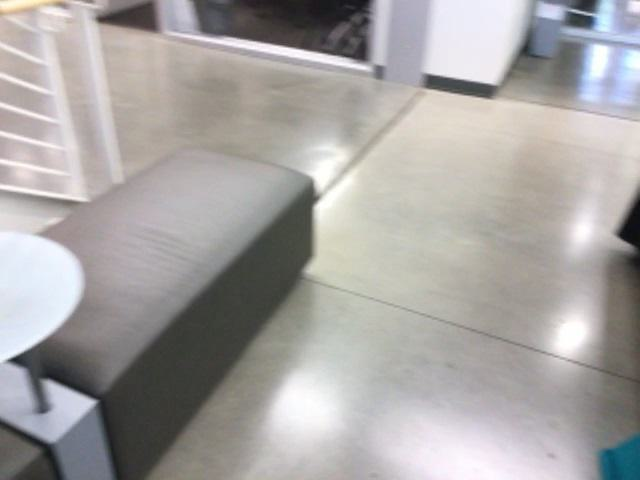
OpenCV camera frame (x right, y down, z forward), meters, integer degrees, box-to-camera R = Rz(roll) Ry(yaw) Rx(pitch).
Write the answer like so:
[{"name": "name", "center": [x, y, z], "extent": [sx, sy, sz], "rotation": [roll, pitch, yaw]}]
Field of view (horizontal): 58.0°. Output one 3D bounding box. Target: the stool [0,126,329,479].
[{"name": "stool", "center": [-0.950, 0.660, 0.790], "extent": [0.610, 0.460, 3.470], "rotation": [17, 34, 17]}]
